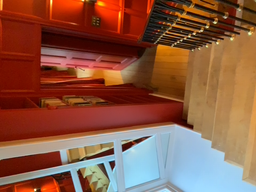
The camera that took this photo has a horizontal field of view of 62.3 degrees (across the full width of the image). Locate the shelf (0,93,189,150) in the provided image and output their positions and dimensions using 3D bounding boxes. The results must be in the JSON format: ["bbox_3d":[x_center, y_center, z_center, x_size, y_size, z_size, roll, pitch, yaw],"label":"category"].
[{"bbox_3d":[-0.740,0.220,2.730,0.950,3.490,0.390,13,101,54],"label":"shelf"}]
